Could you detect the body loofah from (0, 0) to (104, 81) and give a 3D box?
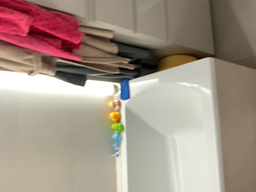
[{"bbox_3d":[-0.560,-0.240,0.900,0.460,0.790,0.220,-7,81,52],"label":"body loofah"}]

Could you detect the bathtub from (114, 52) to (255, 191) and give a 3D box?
[{"bbox_3d":[0.390,0.680,1.370,0.810,0.580,1.660,-9,80,52],"label":"bathtub"}]
